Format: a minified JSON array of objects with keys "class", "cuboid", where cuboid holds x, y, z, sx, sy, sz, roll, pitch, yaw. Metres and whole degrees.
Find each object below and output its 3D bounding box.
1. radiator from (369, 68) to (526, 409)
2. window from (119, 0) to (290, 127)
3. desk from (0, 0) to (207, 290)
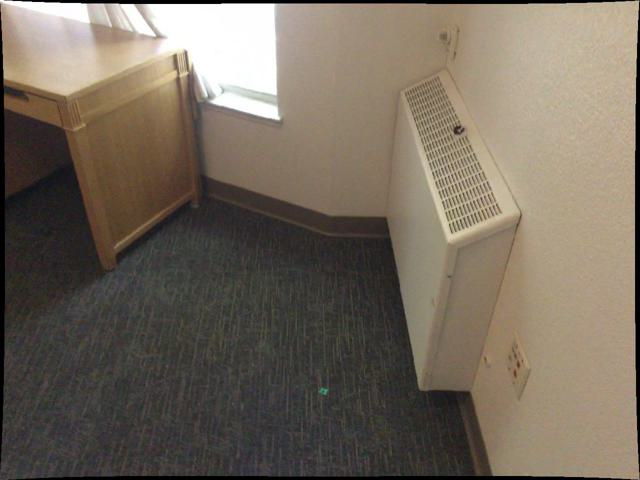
[{"class":"radiator","cuboid":[0.349,-0.040,1.940,0.210,0.711,0.931,1,40,-3]},{"class":"window","cuboid":[-0.449,-0.861,2.250,0.609,0.641,0.260,20,43,19]},{"class":"desk","cuboid":[-1.218,-0.501,2.460,1.239,0.801,0.660,21,43,20]}]
